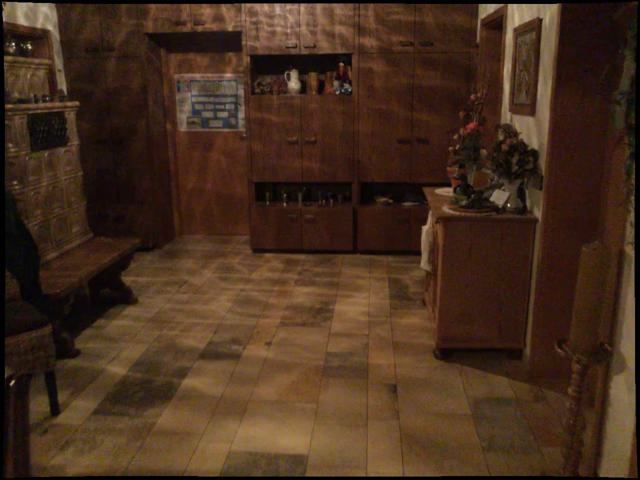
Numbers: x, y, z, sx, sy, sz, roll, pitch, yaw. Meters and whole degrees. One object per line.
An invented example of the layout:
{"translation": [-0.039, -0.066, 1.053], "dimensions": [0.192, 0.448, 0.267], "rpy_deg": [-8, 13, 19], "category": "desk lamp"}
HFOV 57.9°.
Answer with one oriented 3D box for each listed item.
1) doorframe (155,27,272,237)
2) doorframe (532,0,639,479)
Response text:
{"translation": [-1.009, -1.021, 5.680], "dimensions": [0.939, 1.962, 0.310], "rpy_deg": [0, 16, 6], "category": "doorframe"}
{"translation": [1.199, -0.150, 2.350], "dimensions": [0.270, 1.982, 1.040], "rpy_deg": [0, 16, 6], "category": "doorframe"}
